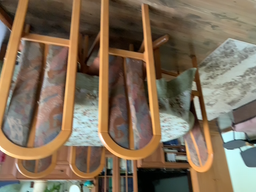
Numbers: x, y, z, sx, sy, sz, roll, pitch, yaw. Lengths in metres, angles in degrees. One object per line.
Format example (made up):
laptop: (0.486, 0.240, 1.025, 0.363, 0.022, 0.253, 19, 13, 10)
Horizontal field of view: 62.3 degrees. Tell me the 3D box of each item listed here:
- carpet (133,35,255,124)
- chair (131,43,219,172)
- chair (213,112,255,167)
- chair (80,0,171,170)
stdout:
carpet: (1.210, 0.010, 2.890, 1.620, 0.030, 2.070, 8, 154, -19)
chair: (0.350, 0.120, 1.890, 0.490, 1.010, 0.460, 7, 155, -18)
chair: (1.970, 0.780, 3.710, 0.550, 0.830, 0.520, 7, 155, -19)
chair: (-0.060, -0.080, 1.390, 0.370, 1.030, 0.490, 7, 155, -18)
